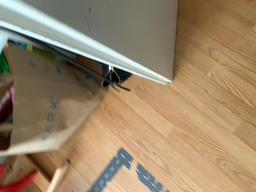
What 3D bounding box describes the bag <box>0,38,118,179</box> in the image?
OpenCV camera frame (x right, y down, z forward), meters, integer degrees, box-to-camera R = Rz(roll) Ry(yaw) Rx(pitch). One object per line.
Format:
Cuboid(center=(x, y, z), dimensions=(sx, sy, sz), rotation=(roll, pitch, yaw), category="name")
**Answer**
Cuboid(center=(-0.340, 0.060, 0.910), dimensions=(0.230, 0.460, 0.430), rotation=(42, 102, 16), category="bag")
